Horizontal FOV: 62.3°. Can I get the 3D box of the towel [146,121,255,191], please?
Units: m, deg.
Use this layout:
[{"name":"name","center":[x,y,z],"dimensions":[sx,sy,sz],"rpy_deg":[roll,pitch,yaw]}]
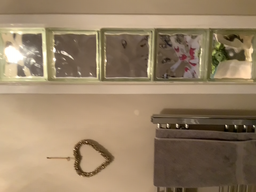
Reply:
[{"name":"towel","center":[0.340,0.280,0.940],"dimensions":[0.120,0.500,0.310],"rpy_deg":[-98,9,-83]}]
